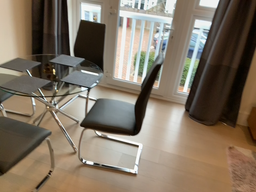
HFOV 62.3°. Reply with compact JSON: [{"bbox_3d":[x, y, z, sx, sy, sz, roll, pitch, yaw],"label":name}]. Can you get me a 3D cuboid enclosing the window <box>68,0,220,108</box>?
[{"bbox_3d":[0.100,-0.980,2.780,1.890,2.090,0.120,13,29,10],"label":"window"}]
